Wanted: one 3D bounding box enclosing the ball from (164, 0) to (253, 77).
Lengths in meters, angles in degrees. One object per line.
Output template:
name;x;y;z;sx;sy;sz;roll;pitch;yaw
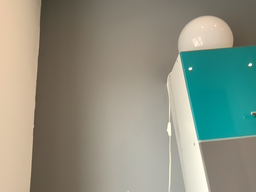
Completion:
ball;0.360;-0.270;1.040;0.280;0.240;0.280;-4;-21;-4
